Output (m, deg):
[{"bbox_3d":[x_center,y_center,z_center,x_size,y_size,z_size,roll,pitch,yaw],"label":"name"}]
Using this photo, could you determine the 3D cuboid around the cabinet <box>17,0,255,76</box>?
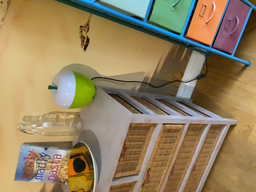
[{"bbox_3d":[0.180,-0.380,0.970,0.360,1.260,0.300,30,108,50],"label":"cabinet"}]

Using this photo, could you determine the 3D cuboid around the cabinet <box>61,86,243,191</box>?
[{"bbox_3d":[0.150,0.370,1.230,0.420,0.840,0.660,30,108,50],"label":"cabinet"}]
